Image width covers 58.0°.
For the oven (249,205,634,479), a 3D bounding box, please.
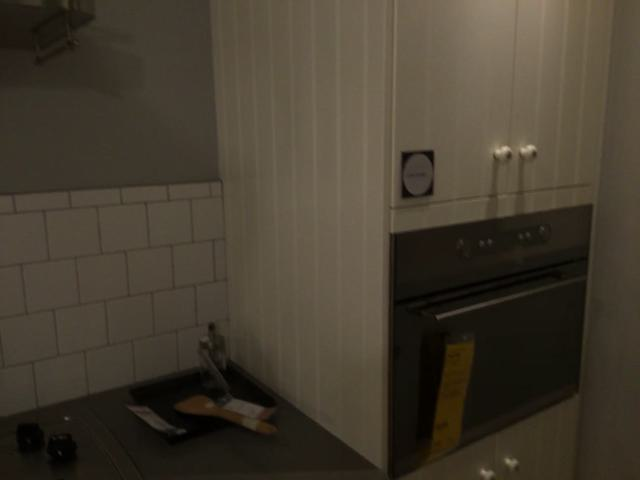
[{"bbox_3d":[0.270,0.290,1.370,0.670,0.670,0.550,-7,10,-33],"label":"oven"}]
